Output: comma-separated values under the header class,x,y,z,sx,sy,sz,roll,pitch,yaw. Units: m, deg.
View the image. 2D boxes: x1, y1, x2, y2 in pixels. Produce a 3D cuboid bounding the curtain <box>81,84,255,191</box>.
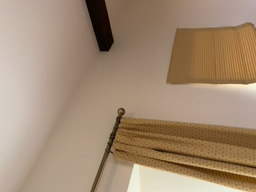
class,x,y,z,sx,sy,sz,roll,pitch,yaw
curtain,0.940,0.270,1.110,0.320,2.340,0.460,77,-157,-44
